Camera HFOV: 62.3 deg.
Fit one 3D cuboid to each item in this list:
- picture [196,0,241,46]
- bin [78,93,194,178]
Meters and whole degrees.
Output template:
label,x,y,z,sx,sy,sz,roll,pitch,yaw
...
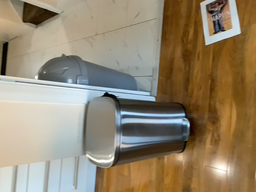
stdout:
label,x,y,z,sx,sy,sz,roll,pitch,yaw
picture,0.550,-0.490,1.310,0.220,0.010,0.300,-15,76,43
bin,0.080,0.190,1.250,0.300,0.640,0.350,6,91,45
